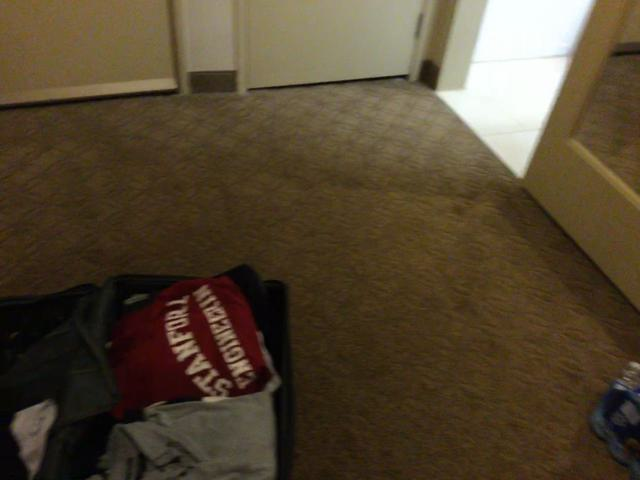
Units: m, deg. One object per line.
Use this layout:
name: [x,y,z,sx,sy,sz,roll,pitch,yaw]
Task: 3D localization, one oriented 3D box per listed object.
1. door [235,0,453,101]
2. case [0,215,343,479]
door: [0.140,-1.210,2.000,0.870,1.500,0.100,-8,45,-16]
case: [-0.480,0.340,1.180,0.940,0.250,0.840,-3,44,-10]
